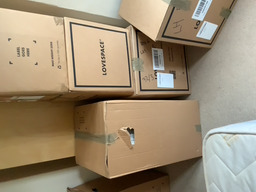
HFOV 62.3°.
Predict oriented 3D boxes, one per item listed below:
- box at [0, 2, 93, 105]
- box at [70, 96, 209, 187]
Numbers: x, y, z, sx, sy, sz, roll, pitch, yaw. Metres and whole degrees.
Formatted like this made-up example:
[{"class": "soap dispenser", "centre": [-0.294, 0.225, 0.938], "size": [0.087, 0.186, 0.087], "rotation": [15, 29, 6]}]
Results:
[{"class": "box", "centre": [-0.560, -0.190, 1.200], "size": [0.440, 0.570, 0.450], "rotation": [0, 91, 54]}, {"class": "box", "centre": [0.080, 0.240, 1.540], "size": [0.590, 0.800, 0.440], "rotation": [-3, 89, 54]}]
